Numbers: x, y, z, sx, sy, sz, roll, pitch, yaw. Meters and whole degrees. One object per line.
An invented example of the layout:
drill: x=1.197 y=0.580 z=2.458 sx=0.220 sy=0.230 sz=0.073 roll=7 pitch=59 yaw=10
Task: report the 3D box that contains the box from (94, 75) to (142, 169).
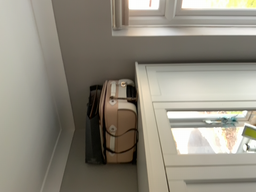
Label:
box: x=-0.060 y=0.180 z=1.410 sx=0.350 sy=0.250 sz=0.530 roll=-93 pitch=3 yaw=-50
